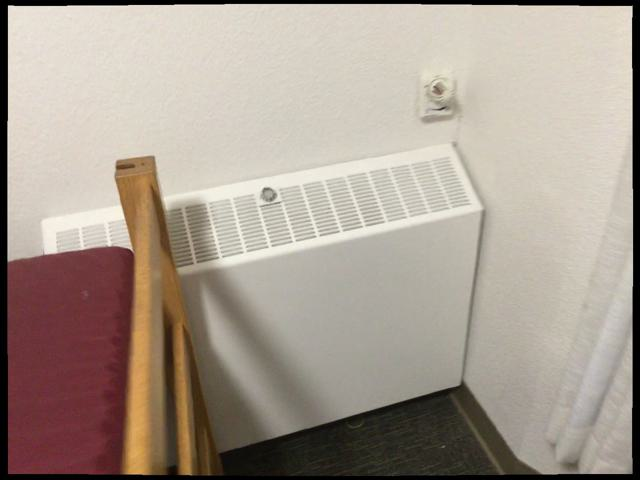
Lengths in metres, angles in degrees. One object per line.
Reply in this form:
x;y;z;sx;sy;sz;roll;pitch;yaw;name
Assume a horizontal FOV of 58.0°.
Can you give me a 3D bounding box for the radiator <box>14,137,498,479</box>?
-0.090;0.220;1.420;0.968;0.761;0.200;-13;35;-13;radiator
